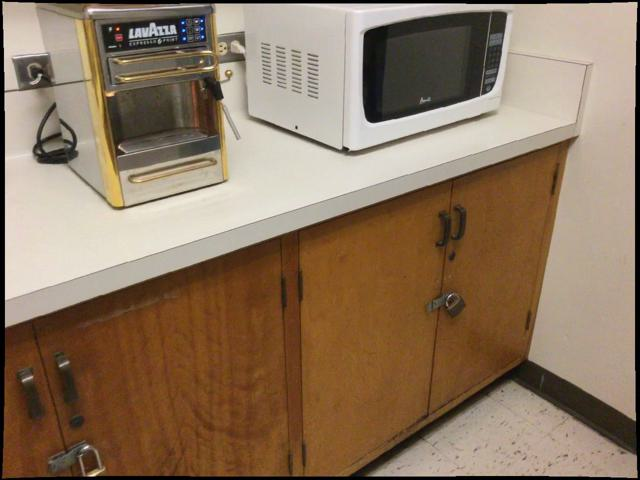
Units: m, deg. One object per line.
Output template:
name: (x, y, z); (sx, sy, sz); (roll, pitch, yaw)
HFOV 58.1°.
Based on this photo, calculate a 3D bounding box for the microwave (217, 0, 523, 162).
microwave: (0.130, -0.491, 1.550); (0.609, 0.311, 0.500); (-21, 32, -31)
